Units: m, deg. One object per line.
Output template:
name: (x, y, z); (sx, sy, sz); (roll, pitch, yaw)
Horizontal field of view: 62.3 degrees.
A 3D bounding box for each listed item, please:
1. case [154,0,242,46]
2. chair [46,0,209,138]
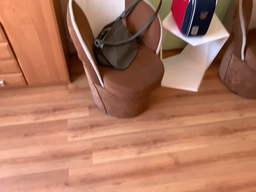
case: (0.450, -0.650, 1.500); (0.360, 0.330, 0.490); (-7, 51, -10)
chair: (-0.060, -0.330, 1.520); (0.640, 0.770, 0.770); (-28, 58, -25)
